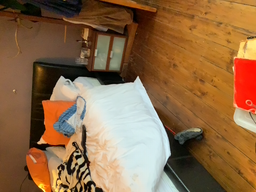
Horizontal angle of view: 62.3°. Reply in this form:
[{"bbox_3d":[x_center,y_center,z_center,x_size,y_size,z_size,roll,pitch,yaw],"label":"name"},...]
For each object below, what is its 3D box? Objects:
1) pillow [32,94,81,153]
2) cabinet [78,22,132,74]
[{"bbox_3d":[-0.870,0.350,2.550,0.720,0.300,0.150,-60,37,17],"label":"pillow"},{"bbox_3d":[-0.310,-0.600,2.670,0.430,0.480,0.490,49,132,50],"label":"cabinet"}]
